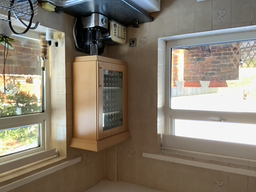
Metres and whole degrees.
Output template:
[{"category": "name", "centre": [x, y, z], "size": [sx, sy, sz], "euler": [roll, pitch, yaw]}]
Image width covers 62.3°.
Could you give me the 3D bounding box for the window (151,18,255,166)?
[{"category": "window", "centre": [0.900, -0.040, 2.040], "size": [1.340, 1.240, 0.300], "euler": [1, -177, 29]}]

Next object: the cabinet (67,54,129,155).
[{"category": "cabinet", "centre": [-0.280, 0.060, 2.180], "size": [0.320, 0.880, 0.590], "euler": [2, -177, 30]}]
